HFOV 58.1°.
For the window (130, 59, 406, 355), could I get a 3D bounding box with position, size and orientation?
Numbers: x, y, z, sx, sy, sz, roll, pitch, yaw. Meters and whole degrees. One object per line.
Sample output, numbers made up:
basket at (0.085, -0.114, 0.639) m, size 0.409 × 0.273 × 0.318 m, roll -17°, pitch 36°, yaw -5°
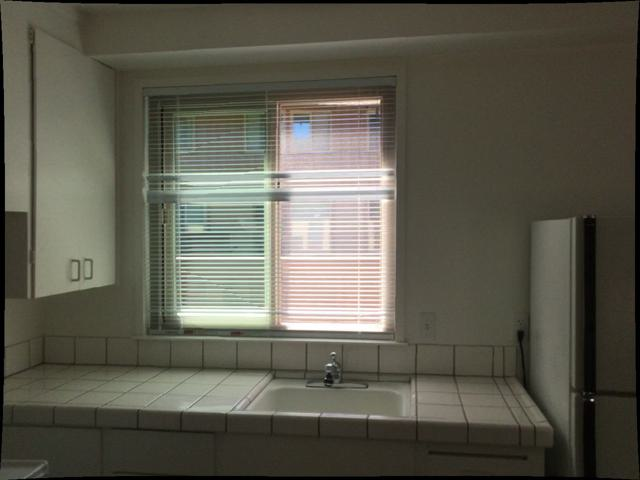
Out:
window at (-0.230, -0.150, 2.560) m, size 1.168 × 1.192 × 0.270 m, roll 2°, pitch 5°, yaw 10°
